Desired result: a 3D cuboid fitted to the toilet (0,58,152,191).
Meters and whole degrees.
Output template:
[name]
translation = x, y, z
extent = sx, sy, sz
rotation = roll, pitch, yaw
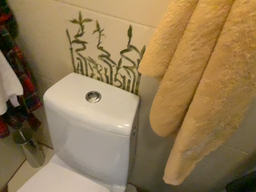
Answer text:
[toilet]
translation = -0.260, 0.420, 0.790
extent = 0.380, 0.790, 0.680
rotation = 20, 50, 11
